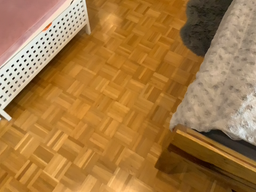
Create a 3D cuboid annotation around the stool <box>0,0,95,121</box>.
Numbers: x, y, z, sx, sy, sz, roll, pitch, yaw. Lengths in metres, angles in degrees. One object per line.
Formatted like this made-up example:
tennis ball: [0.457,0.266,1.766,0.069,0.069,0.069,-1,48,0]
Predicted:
stool: [-0.730,-0.430,1.410,0.500,0.520,0.950,29,65,13]
